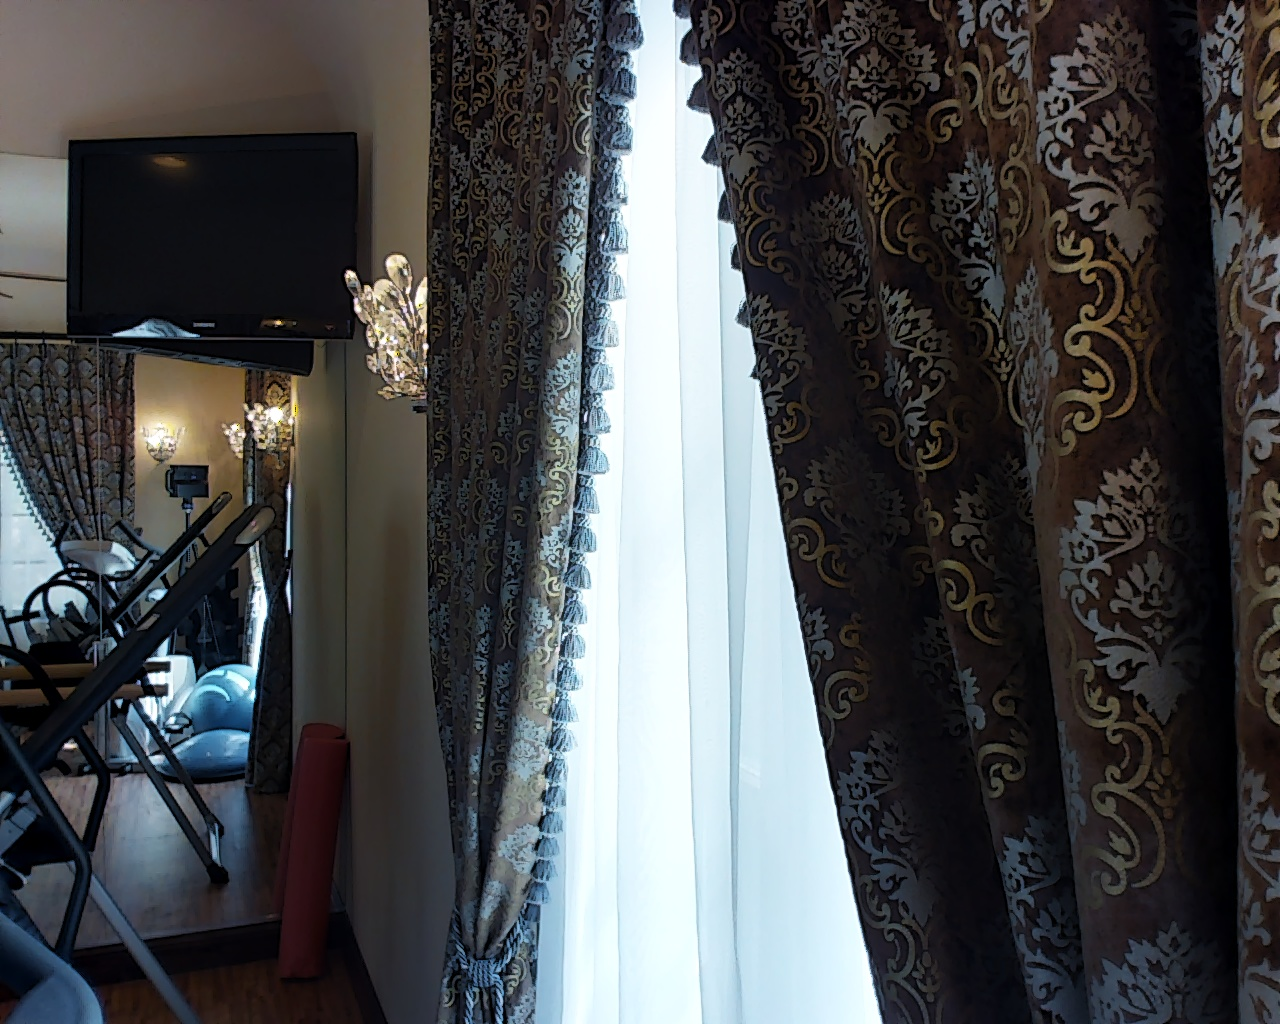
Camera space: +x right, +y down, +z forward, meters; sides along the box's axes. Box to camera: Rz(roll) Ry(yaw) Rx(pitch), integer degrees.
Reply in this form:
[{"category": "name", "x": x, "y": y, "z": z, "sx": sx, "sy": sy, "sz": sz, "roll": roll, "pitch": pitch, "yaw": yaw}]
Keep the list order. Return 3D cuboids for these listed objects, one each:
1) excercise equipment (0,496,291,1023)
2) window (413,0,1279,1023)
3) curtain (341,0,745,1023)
[{"category": "excercise equipment", "x": -1.500, "y": 0.750, "z": 2.280, "sx": 1.380, "sy": 1.540, "sz": 0.910, "roll": 0, "pitch": 2, "yaw": -22}, {"category": "window", "x": 0.030, "y": 0.520, "z": 0.980, "sx": 0.250, "sy": 2.100, "sz": 1.270, "roll": 0, "pitch": 2, "yaw": -22}, {"category": "curtain", "x": -0.200, "y": 0.290, "z": 1.410, "sx": 0.270, "sy": 2.510, "sz": 0.900, "roll": 0, "pitch": 2, "yaw": -22}]
